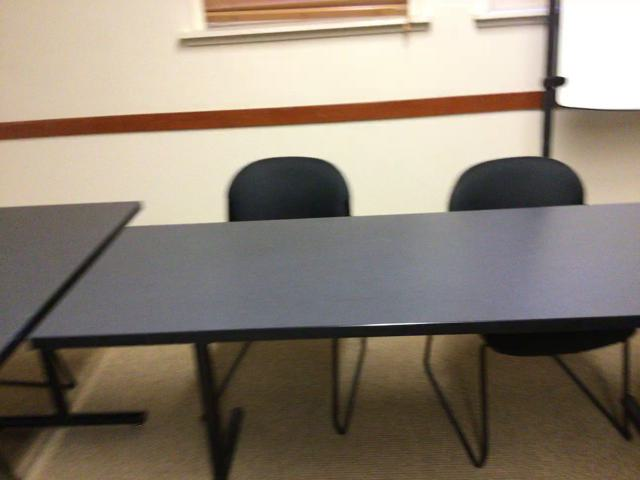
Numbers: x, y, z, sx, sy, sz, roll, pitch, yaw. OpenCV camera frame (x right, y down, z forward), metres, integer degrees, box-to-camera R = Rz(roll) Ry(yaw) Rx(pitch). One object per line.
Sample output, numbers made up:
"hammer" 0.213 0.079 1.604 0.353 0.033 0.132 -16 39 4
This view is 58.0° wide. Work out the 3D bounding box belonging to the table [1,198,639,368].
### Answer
"table" 0.270 0.070 1.400 1.790 0.080 0.670 -2 23 7
